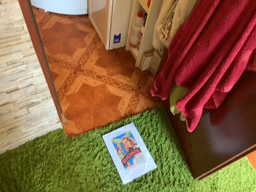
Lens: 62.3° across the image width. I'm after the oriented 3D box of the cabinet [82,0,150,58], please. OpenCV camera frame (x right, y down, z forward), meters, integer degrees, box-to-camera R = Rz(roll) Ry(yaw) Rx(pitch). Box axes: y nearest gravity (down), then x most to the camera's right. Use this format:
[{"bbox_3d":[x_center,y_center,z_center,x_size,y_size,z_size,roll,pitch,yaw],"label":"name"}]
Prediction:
[{"bbox_3d":[-0.110,-0.660,1.580,0.350,0.570,0.380,-19,63,-20],"label":"cabinet"}]
